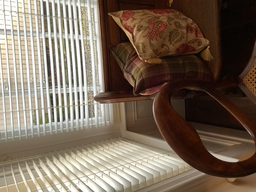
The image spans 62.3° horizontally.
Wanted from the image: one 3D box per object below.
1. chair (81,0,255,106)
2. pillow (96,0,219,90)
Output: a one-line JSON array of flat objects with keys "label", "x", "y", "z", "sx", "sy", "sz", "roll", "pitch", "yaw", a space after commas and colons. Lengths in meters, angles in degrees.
[{"label": "chair", "x": 0.220, "y": -0.900, "z": 1.140, "sx": 0.510, "sy": 0.850, "sz": 1.800, "roll": 1, "pitch": 96, "yaw": 57}, {"label": "pillow", "x": 0.140, "y": -0.310, "z": 1.100, "sx": 0.430, "sy": 0.430, "sz": 0.170, "roll": 46, "pitch": 147, "yaw": 24}]
